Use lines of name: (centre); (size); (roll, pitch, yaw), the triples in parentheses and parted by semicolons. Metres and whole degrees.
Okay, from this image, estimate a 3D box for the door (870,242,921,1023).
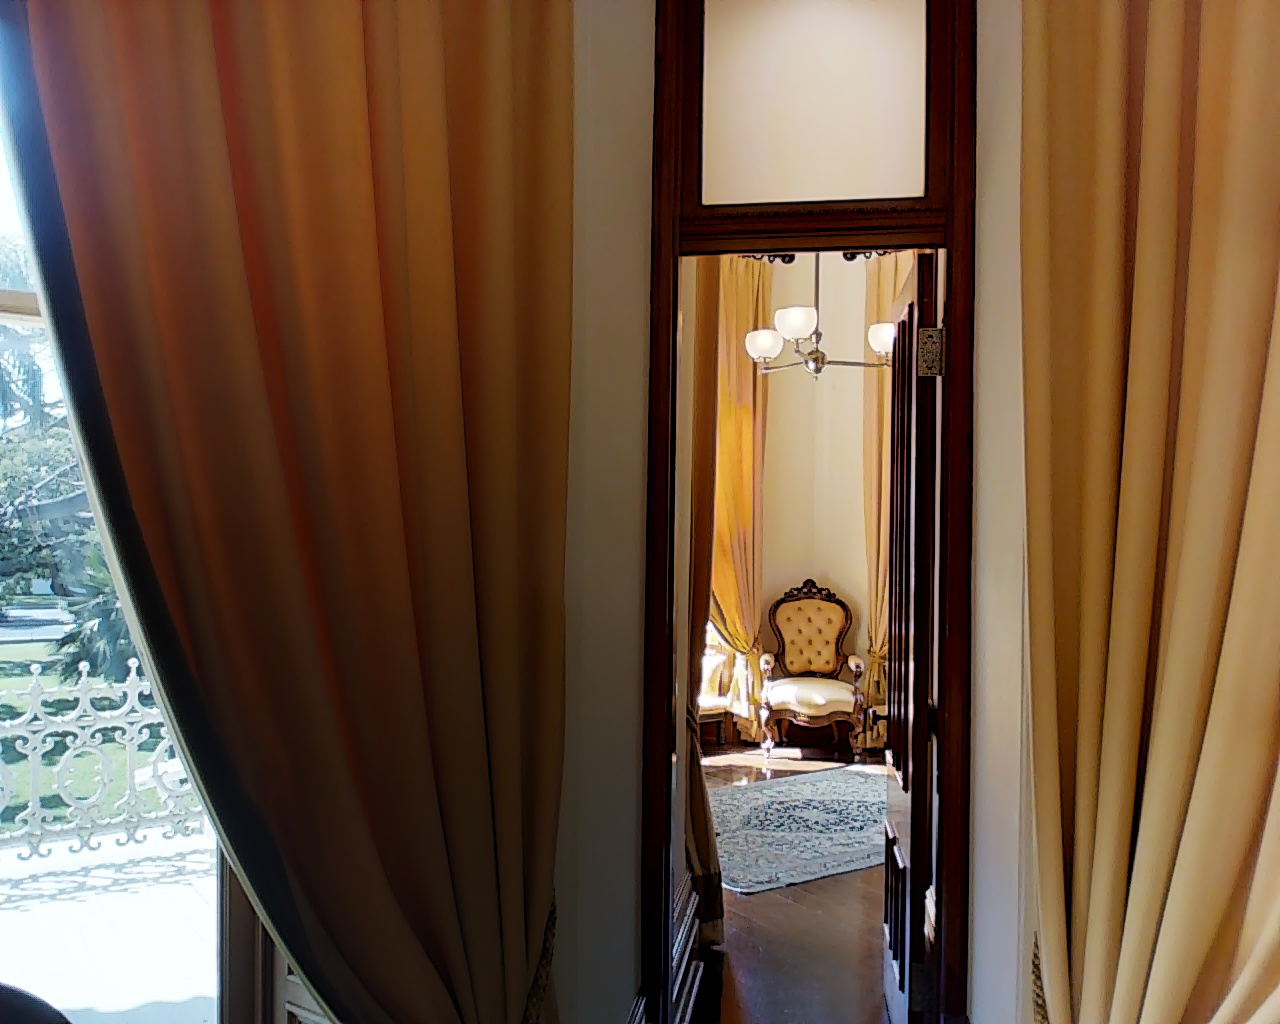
door: (0.780, 0.390, 3.320); (0.090, 2.250, 0.780); (1, 0, 10)
